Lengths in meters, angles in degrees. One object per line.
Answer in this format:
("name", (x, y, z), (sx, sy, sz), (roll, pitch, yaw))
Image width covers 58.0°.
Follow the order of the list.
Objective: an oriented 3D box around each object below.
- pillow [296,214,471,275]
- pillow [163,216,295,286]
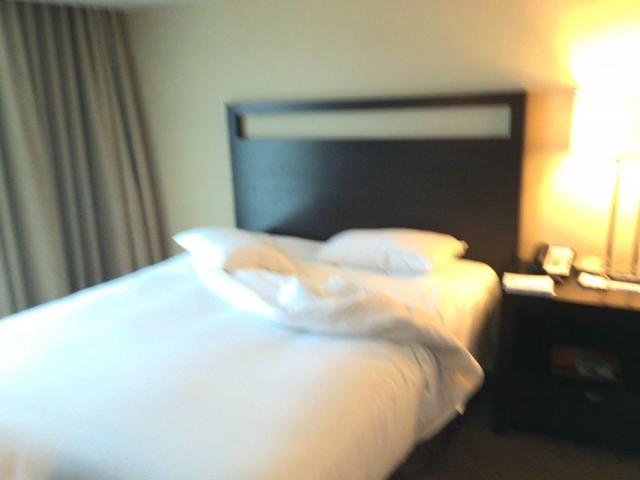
("pillow", (0.310, 0.010, 2.770), (0.710, 0.190, 0.430), (1, 12, 29))
("pillow", (-0.450, 0.030, 2.730), (0.370, 0.190, 0.650), (-12, 12, -31))
